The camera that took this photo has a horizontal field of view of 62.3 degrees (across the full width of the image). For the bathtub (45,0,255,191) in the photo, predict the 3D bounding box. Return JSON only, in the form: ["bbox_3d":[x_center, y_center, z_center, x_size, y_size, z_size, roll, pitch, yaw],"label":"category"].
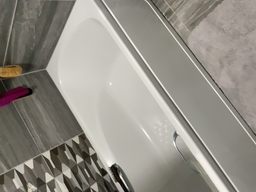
[{"bbox_3d":[0.230,0.240,1.290,1.630,0.550,0.660,56,134,10],"label":"bathtub"}]
